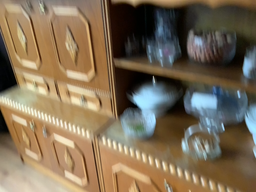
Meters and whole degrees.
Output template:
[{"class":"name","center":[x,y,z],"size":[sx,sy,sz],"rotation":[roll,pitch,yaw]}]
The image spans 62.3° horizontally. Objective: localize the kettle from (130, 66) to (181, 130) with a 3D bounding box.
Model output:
[{"class":"kettle","center":[0.150,0.000,1.130],"size":[0.170,0.230,0.230],"rotation":[15,34,30]}]
